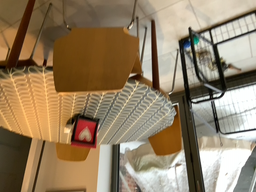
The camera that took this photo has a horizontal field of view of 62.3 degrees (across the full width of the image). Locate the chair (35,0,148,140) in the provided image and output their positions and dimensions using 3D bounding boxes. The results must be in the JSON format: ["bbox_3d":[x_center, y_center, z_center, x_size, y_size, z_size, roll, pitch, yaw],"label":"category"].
[{"bbox_3d":[-0.160,-0.250,1.230,0.420,0.870,0.530,2,152,-5],"label":"chair"}]
